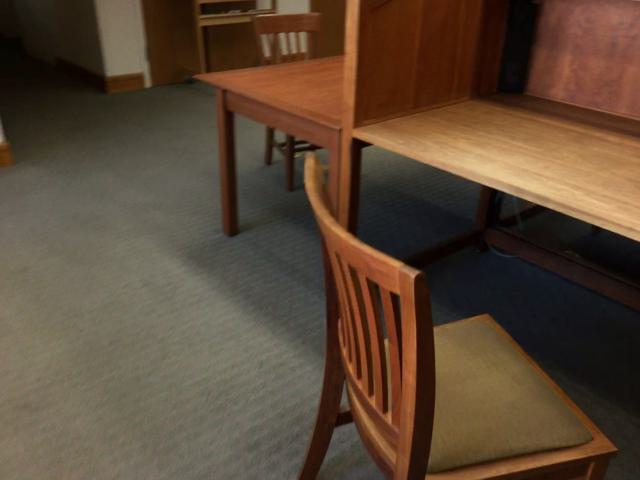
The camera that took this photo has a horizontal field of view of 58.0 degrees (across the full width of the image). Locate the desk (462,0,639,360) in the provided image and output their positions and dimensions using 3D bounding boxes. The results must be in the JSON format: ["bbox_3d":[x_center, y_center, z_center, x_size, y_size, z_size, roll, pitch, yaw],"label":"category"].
[{"bbox_3d":[1.490,-0.420,2.110,1.120,1.430,1.370,-23,36,-32],"label":"desk"}]

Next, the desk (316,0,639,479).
[{"bbox_3d":[0.830,-0.220,1.720,1.040,1.360,1.350,-23,36,-32],"label":"desk"}]
